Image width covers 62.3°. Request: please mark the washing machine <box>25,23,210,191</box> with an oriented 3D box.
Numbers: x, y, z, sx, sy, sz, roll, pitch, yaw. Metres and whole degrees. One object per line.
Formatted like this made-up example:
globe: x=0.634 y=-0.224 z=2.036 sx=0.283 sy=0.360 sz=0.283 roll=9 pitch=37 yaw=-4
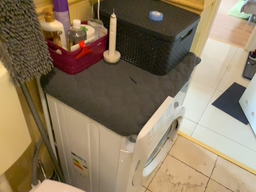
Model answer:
washing machine: x=-0.040 y=0.170 z=1.170 sx=0.530 sy=0.830 sz=0.600 roll=27 pitch=45 yaw=20
